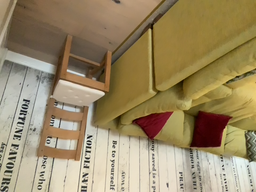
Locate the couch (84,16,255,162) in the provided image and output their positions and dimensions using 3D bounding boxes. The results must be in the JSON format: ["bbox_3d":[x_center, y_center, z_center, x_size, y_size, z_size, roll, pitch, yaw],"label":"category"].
[{"bbox_3d":[1.000,0.240,2.680,2.730,0.760,1.200,17,151,-28],"label":"couch"}]

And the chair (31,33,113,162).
[{"bbox_3d":[-0.530,0.050,2.070,0.460,1.030,0.620,17,151,-28],"label":"chair"}]
